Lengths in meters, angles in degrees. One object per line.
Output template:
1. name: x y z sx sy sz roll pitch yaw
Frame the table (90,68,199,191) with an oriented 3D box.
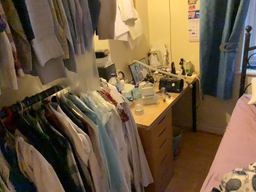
1. table: 0.270 0.260 2.140 0.520 0.750 1.160 10 28 33
